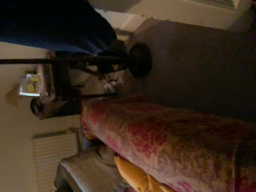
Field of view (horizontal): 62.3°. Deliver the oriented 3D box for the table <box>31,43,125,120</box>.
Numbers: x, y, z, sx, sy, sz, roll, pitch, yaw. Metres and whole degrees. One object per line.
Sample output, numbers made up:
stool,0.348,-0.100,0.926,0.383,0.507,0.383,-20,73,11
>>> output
table,-0.740,-0.110,2.770,1.310,0.760,0.550,-27,71,55
